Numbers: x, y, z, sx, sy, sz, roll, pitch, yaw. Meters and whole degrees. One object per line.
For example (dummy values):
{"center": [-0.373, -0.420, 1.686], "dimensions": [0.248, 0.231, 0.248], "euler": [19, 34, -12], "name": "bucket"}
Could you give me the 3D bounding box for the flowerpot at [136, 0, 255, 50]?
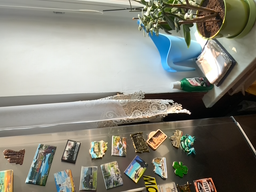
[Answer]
{"center": [0.310, -0.370, 0.840], "dimensions": [0.230, 0.460, 0.280], "euler": [109, 152, -47], "name": "flowerpot"}
